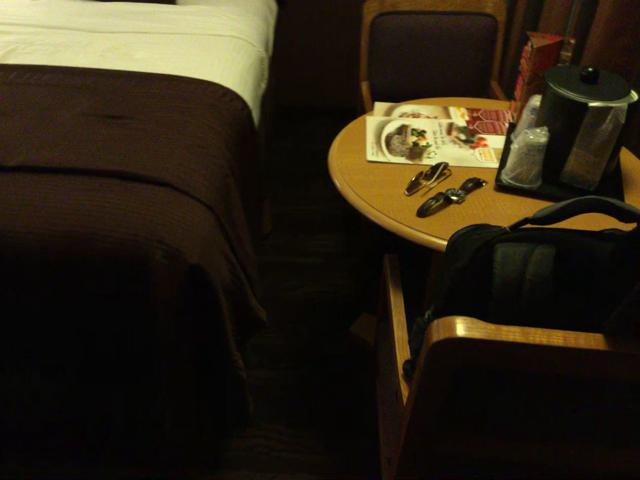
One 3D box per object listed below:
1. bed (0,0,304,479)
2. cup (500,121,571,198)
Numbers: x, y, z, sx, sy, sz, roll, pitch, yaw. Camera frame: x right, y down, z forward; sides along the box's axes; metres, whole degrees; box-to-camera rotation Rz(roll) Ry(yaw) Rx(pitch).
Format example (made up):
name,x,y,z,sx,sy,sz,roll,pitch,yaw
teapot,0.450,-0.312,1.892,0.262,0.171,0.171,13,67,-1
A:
name,x,y,z,sx,sy,sz,roll,pitch,yaw
bed,-0.900,-0.490,1.880,1.600,1.350,2.090,4,34,-1
cup,0.450,-0.170,1.220,0.090,0.130,0.090,3,34,-1
